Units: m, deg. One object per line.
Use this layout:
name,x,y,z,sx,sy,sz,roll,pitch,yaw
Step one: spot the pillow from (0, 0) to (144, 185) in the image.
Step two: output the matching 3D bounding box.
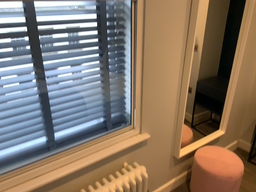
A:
pillow,-0.390,-0.380,1.030,1.130,1.640,0.090,-16,29,-32

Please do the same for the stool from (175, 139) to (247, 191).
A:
stool,0.660,0.670,1.740,0.350,0.410,0.360,-17,29,-33
